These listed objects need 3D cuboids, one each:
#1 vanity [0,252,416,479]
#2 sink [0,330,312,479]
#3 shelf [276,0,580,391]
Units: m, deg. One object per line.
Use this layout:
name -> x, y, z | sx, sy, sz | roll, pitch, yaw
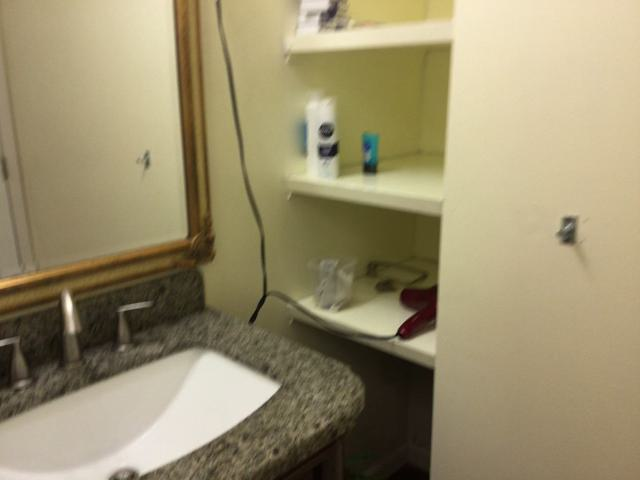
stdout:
vanity -> -0.300, 0.640, 1.070 | 0.580, 1.020, 0.720 | 15, 20, 41
sink -> -0.300, 0.360, 1.000 | 0.340, 0.190, 0.470 | 15, 20, 41
shelf -> 0.280, -0.310, 1.520 | 0.480, 1.130, 0.630 | 14, 20, 41
